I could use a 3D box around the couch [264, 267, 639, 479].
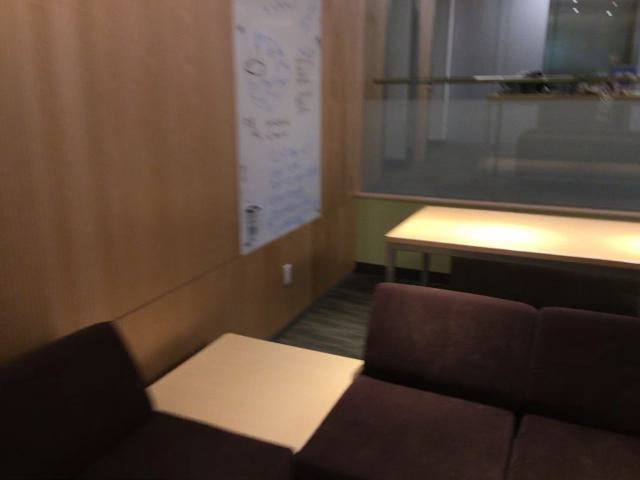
[{"bbox_3d":[0.550,0.530,1.780,1.130,0.580,0.900,4,15,21],"label":"couch"}]

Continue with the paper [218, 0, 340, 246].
[{"bbox_3d":[-0.170,-0.690,3.120,0.080,1.290,0.990,3,11,29],"label":"paper"}]
